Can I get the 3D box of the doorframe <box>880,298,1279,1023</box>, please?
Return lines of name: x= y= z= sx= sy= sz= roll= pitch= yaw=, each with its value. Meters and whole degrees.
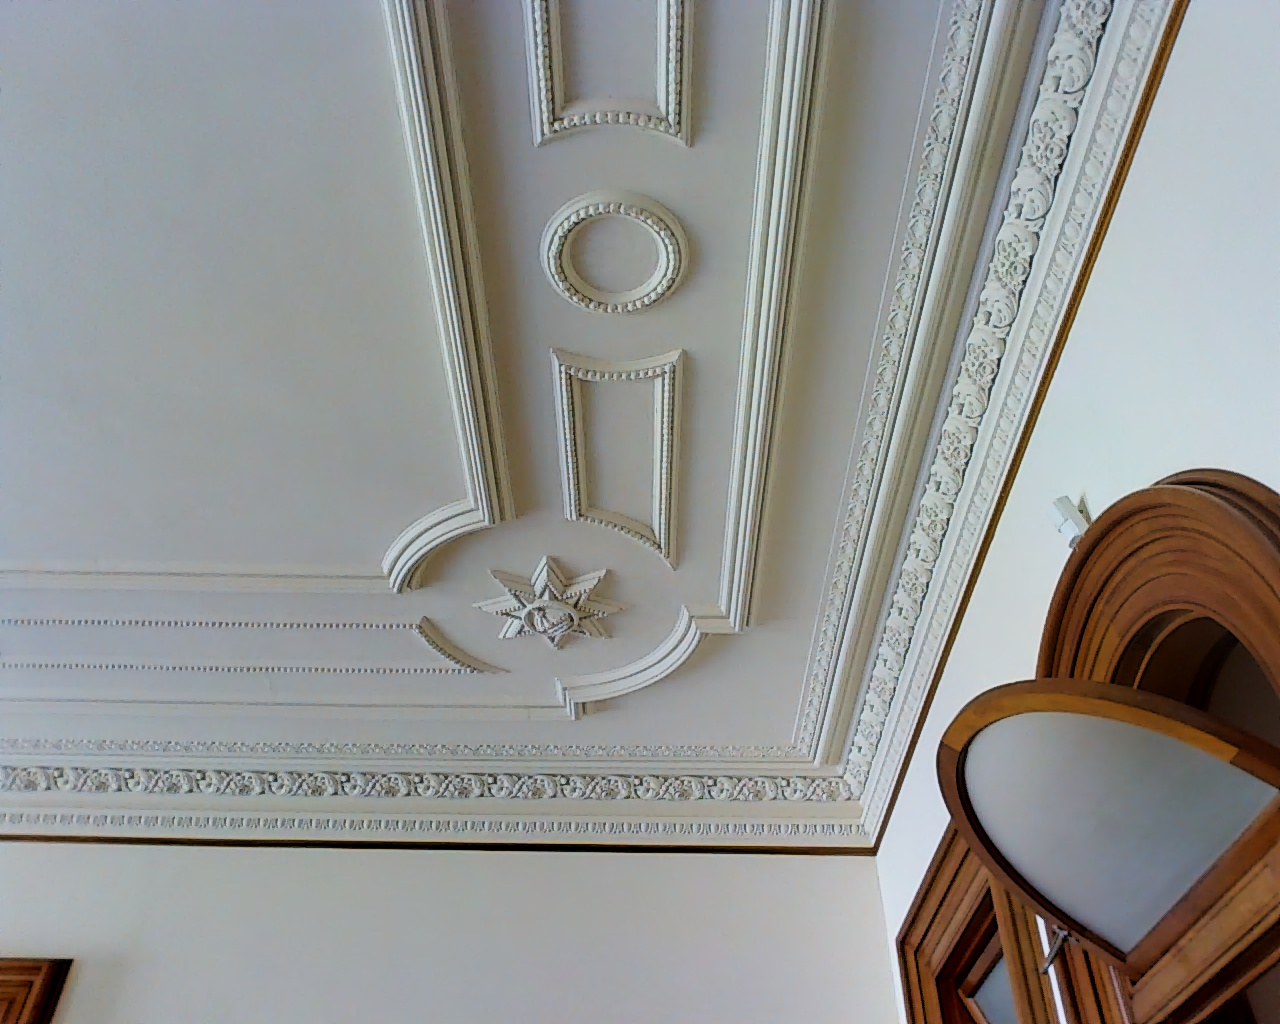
doorframe: x=0.920 y=1.270 z=1.620 sx=0.480 sy=3.271 sz=1.470 roll=0 pitch=-42 yaw=2
